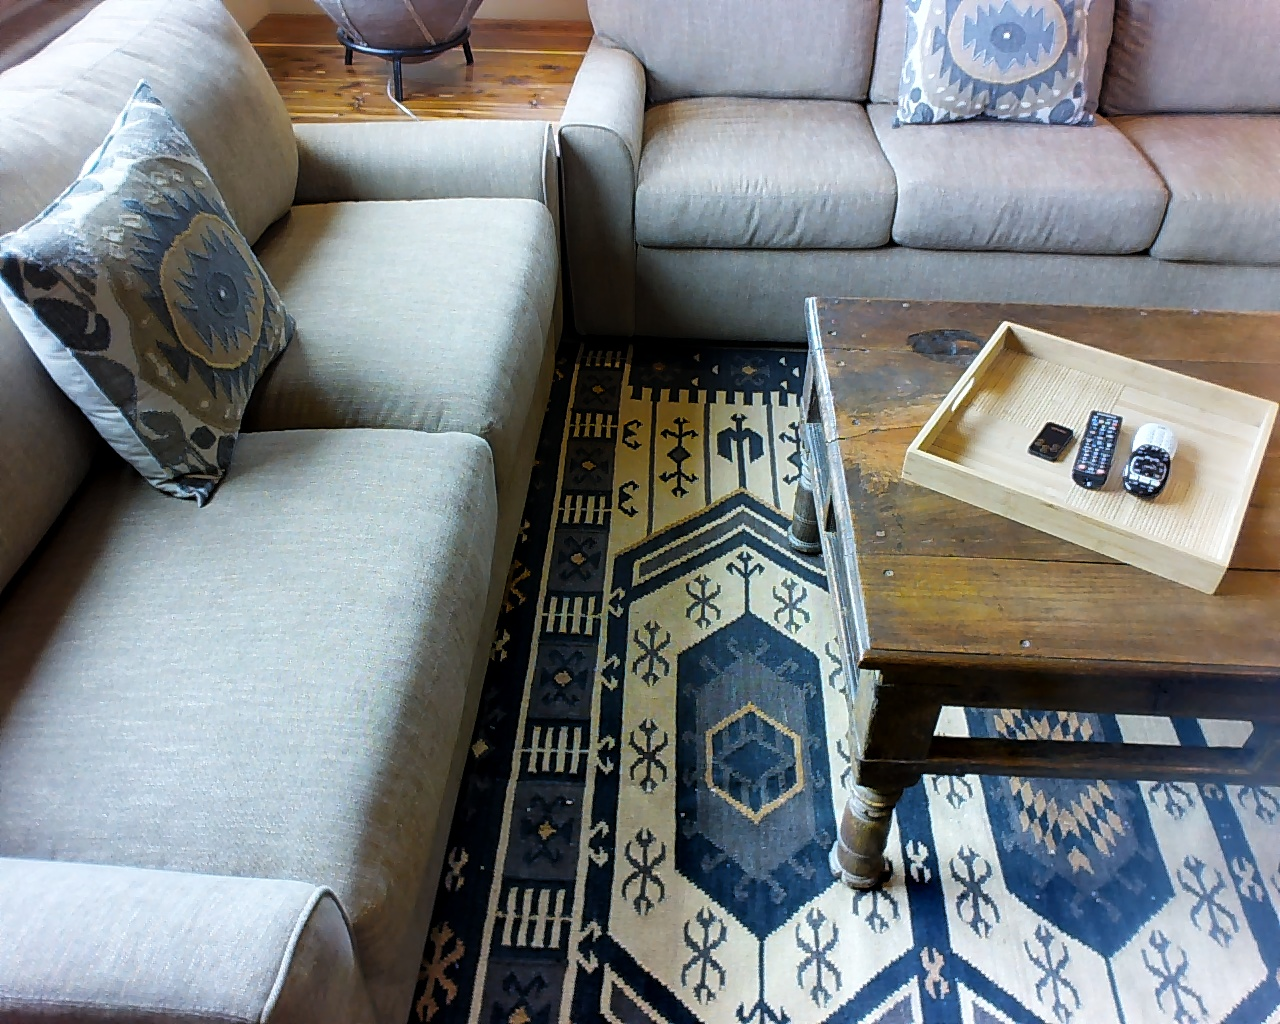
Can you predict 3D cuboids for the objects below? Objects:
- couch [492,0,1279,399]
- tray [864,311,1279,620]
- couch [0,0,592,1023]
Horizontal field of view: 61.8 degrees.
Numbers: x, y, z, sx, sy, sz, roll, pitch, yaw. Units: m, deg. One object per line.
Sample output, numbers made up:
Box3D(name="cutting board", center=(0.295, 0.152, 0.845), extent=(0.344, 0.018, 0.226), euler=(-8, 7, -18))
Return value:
Box3D(name="couch", center=(0.860, -0.980, 2.710), extent=(2.250, 0.890, 1.050), euler=(2, 41, 2))
Box3D(name="tray", center=(0.630, -0.100, 1.510), extent=(0.460, 0.040, 0.480), euler=(23, 46, 24))
Box3D(name="couch", center=(-0.690, -0.140, 1.680), extent=(1.040, 0.900, 1.990), euler=(2, 41, 2))
